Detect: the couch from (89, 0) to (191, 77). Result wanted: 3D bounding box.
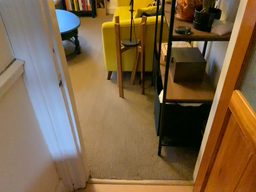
[{"bbox_3d":[0.140,-1.140,3.140,1.010,0.790,1.970,1,37,1],"label":"couch"}]
